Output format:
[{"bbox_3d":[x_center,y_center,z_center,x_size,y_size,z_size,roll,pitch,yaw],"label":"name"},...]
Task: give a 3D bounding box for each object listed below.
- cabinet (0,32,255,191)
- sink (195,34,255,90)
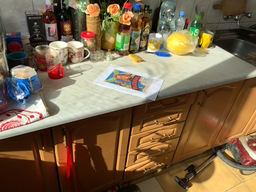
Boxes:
[{"bbox_3d":[0.260,0.100,1.560,2.430,0.860,0.520,-11,39,-25],"label":"cabinet"},{"bbox_3d":[0.850,-0.290,1.650,0.360,0.200,0.490,-11,39,-25],"label":"sink"}]
